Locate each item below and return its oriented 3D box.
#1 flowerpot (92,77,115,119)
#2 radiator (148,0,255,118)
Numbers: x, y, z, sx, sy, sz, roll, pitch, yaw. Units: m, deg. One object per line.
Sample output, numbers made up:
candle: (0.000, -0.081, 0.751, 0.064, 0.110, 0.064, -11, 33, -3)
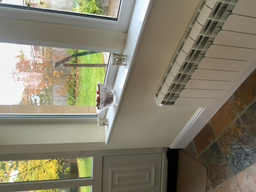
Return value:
flowerpot: (-0.190, 0.020, 1.600, 0.140, 0.120, 0.300, -105, 24, -44)
radiator: (0.560, -0.250, 1.120, 1.020, 0.610, 0.150, 109, 156, -45)
